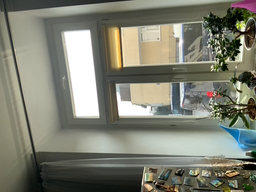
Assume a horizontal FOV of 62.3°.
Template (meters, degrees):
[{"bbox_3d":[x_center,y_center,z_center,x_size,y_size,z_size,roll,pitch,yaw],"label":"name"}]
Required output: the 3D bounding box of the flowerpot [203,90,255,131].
[{"bbox_3d":[0.980,0.120,1.880,0.300,0.540,0.280,-58,-34,-74],"label":"flowerpot"}]

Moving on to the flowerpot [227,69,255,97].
[{"bbox_3d":[1.030,-0.120,1.720,0.490,0.290,0.160,-53,-39,-75],"label":"flowerpot"}]
